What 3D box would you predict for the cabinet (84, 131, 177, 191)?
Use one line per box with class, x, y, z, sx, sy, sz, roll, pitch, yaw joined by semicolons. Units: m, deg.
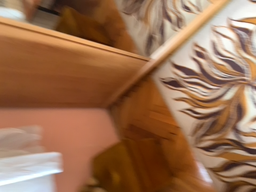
cabinet;0.020;0.450;1.330;0.290;0.420;0.340;-34;67;36
